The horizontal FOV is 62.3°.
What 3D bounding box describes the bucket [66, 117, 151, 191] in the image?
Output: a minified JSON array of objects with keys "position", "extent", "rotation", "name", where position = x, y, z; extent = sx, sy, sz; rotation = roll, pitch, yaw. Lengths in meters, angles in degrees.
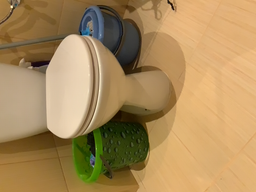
[{"position":[-0.110,0.270,1.060],"extent":[0.290,0.290,0.230],"rotation":[29,112,53],"name":"bucket"}]
